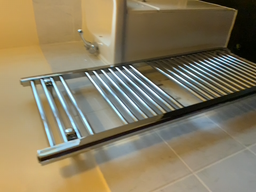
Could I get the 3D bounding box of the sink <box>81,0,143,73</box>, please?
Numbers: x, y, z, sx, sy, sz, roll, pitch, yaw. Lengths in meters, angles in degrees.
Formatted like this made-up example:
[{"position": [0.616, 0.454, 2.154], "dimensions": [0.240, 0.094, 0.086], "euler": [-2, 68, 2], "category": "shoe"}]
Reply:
[{"position": [-0.130, -0.460, 1.320], "dimensions": [0.530, 0.160, 0.440], "euler": [46, 141, 48], "category": "sink"}]
